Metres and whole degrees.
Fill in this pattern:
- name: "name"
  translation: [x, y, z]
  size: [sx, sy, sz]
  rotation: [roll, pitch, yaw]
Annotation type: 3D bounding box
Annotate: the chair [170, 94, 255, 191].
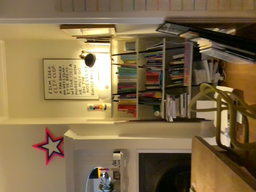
- name: "chair"
  translation: [0.690, 0.310, 0.920]
  size: [0.580, 0.900, 0.600]
  rotation: [-98, 7, -86]
